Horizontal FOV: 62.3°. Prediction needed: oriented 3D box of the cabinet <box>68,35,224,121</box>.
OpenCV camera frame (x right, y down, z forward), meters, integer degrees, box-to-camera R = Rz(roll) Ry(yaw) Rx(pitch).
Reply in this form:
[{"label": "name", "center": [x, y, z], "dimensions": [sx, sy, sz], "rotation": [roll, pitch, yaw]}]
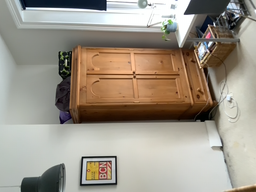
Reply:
[{"label": "cabinet", "center": [0.210, -0.250, 3.220], "dimensions": [0.650, 2.020, 1.070], "rotation": [105, 163, -64]}]
